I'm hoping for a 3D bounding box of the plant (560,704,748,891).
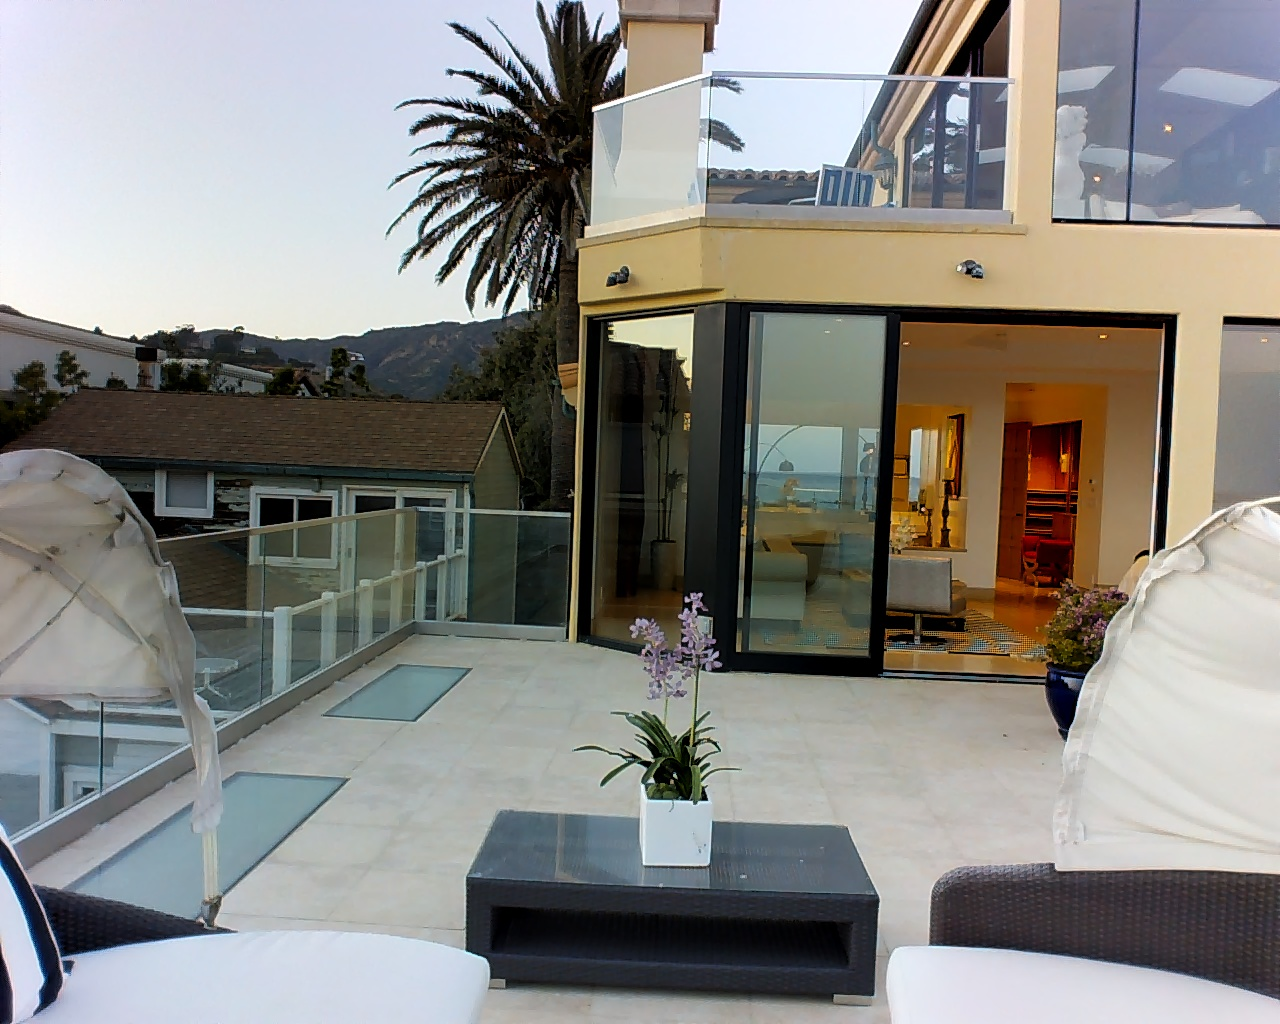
[{"bbox_3d":[0.050,0.880,3.420,0.530,0.380,0.620,2,3,2],"label":"plant"}]

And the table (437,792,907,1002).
[{"bbox_3d":[0.100,1.211,3.480,1.359,0.340,0.690,2,3,2],"label":"table"}]
